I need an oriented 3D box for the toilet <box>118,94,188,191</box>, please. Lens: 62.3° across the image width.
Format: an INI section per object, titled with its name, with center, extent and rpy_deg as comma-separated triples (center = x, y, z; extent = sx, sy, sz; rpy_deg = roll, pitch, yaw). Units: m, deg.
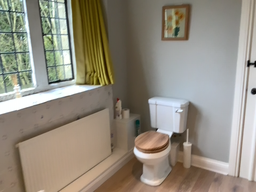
[toilet]
center = 0.310, 0.470, 2.390
extent = 0.490, 0.810, 0.720
rpy_deg = 7, 16, 31
